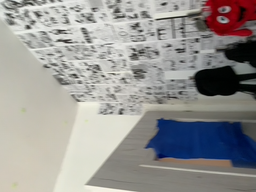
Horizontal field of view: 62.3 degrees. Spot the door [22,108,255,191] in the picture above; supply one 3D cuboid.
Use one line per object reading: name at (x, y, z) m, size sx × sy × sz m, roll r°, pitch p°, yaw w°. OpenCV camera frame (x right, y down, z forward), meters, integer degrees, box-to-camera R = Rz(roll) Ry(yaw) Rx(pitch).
door at (0.820, 0.190, 0.700) m, size 0.880 × 2.040 × 0.110 m, roll -25°, pitch -66°, yaw -72°
